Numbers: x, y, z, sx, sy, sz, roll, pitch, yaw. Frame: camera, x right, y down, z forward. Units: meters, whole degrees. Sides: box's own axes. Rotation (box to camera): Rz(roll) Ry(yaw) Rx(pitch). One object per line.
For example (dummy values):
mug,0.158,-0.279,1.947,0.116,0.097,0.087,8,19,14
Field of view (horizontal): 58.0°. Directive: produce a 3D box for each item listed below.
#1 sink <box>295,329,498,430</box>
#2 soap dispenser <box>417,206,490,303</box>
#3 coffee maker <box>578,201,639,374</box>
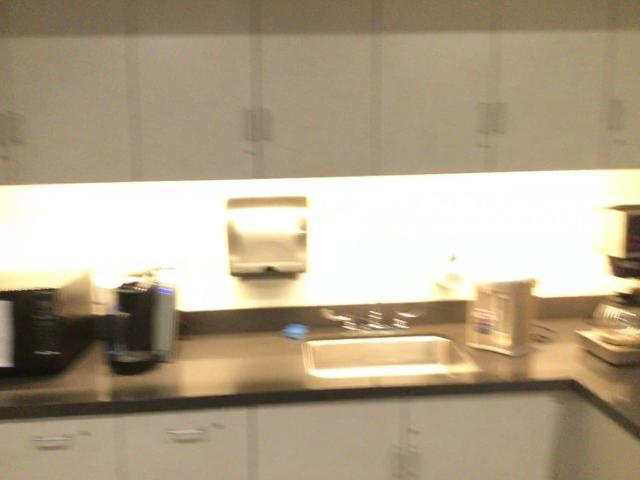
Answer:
sink,0.220,0.450,1.960,0.590,0.170,0.480,-4,1,-4
soap dispenser,0.500,0.050,2.170,0.230,0.340,0.110,-4,5,-4
coffee maker,1.080,0.120,1.760,0.480,0.480,0.210,-4,5,-4
